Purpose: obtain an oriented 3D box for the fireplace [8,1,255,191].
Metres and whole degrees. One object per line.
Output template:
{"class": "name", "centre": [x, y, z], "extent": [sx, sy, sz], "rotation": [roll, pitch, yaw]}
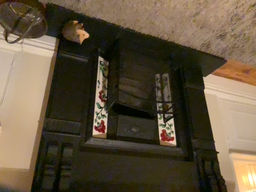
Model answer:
{"class": "fireplace", "centre": [0.100, 0.170, 1.760], "extent": [1.650, 1.310, 0.600], "rotation": [11, 150, -20]}
